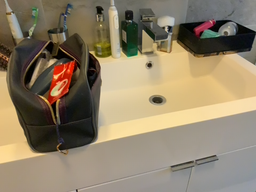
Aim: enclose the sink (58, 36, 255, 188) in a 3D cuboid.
[{"bbox_3d":[0.100,-0.020,0.680,0.600,0.130,0.450,-10,37,-12],"label":"sink"}]
